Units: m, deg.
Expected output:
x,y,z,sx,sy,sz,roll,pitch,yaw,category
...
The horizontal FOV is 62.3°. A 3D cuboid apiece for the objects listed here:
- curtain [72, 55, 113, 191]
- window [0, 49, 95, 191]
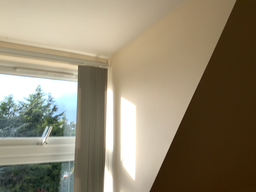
x,y,z,sx,sy,sz,roll,pitch,yaw,category
-0.250,0.340,1.480,0.230,1.230,0.140,4,-9,-23,curtain
-0.650,0.360,1.440,0.800,1.300,0.130,4,-9,-23,window
